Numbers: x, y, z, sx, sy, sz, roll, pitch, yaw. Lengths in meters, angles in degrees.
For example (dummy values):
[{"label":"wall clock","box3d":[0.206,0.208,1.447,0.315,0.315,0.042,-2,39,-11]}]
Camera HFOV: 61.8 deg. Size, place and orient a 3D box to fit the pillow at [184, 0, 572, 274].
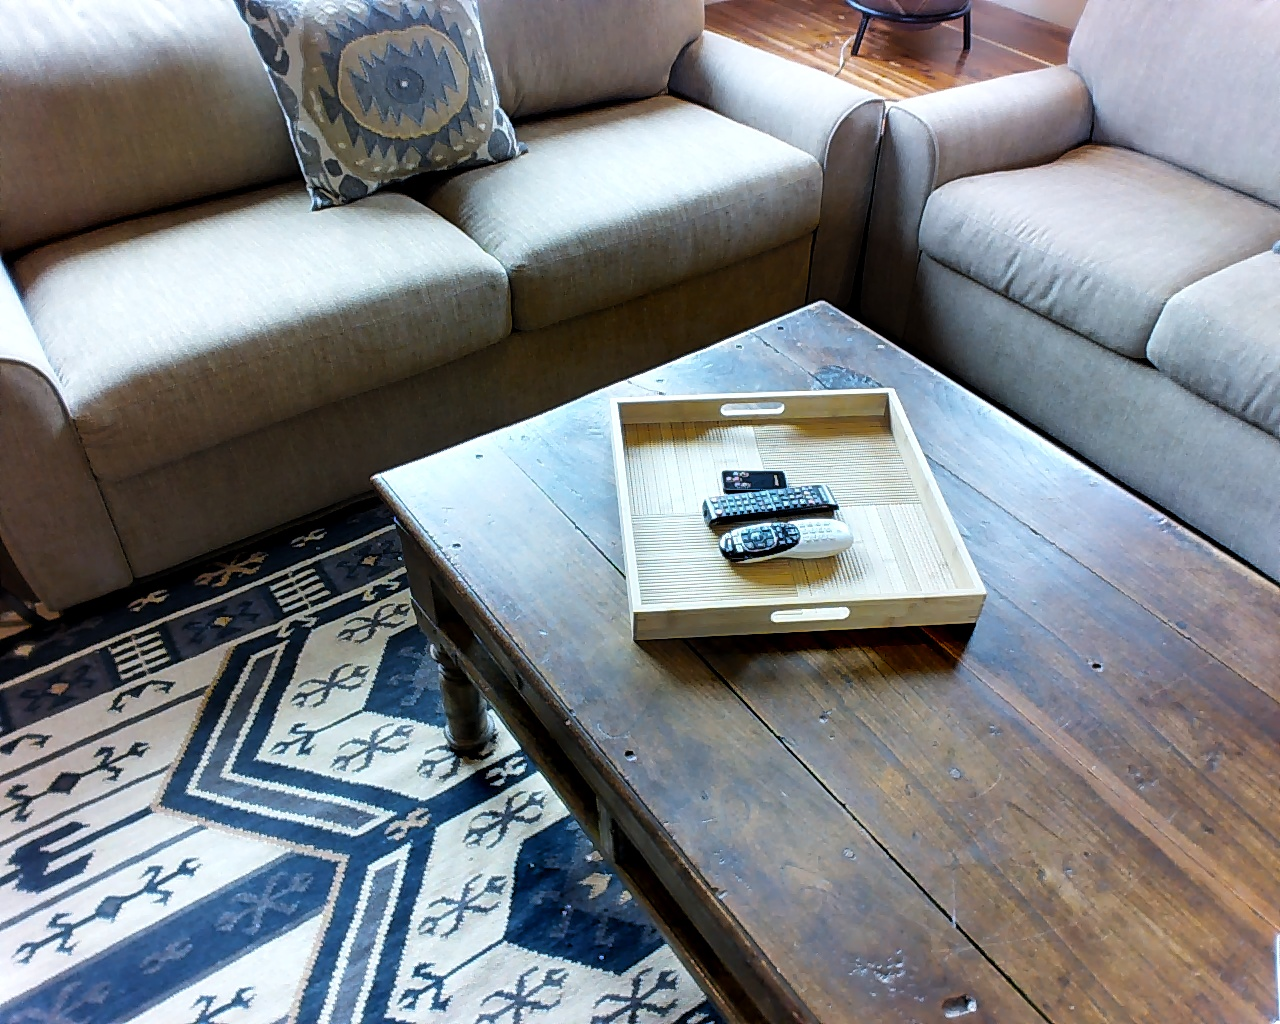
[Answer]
[{"label":"pillow","box3d":[-0.500,-0.860,2.150,0.580,0.450,0.220,-40,52,-7]}]
